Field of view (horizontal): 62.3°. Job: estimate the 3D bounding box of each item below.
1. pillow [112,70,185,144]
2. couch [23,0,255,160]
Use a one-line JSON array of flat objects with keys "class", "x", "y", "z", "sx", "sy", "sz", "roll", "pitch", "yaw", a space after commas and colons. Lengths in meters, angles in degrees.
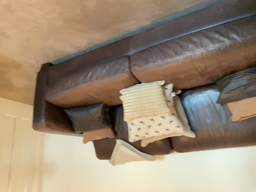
[{"class": "pillow", "x": 0.160, "y": 0.120, "z": 1.600, "sx": 0.370, "sy": 0.410, "sz": 0.440, "roll": -14, "pitch": 159, "yaw": 25}, {"class": "couch", "x": 0.230, "y": 0.010, "z": 1.770, "sx": 1.900, "sy": 0.850, "sz": 0.990, "roll": -14, "pitch": 159, "yaw": 26}]
